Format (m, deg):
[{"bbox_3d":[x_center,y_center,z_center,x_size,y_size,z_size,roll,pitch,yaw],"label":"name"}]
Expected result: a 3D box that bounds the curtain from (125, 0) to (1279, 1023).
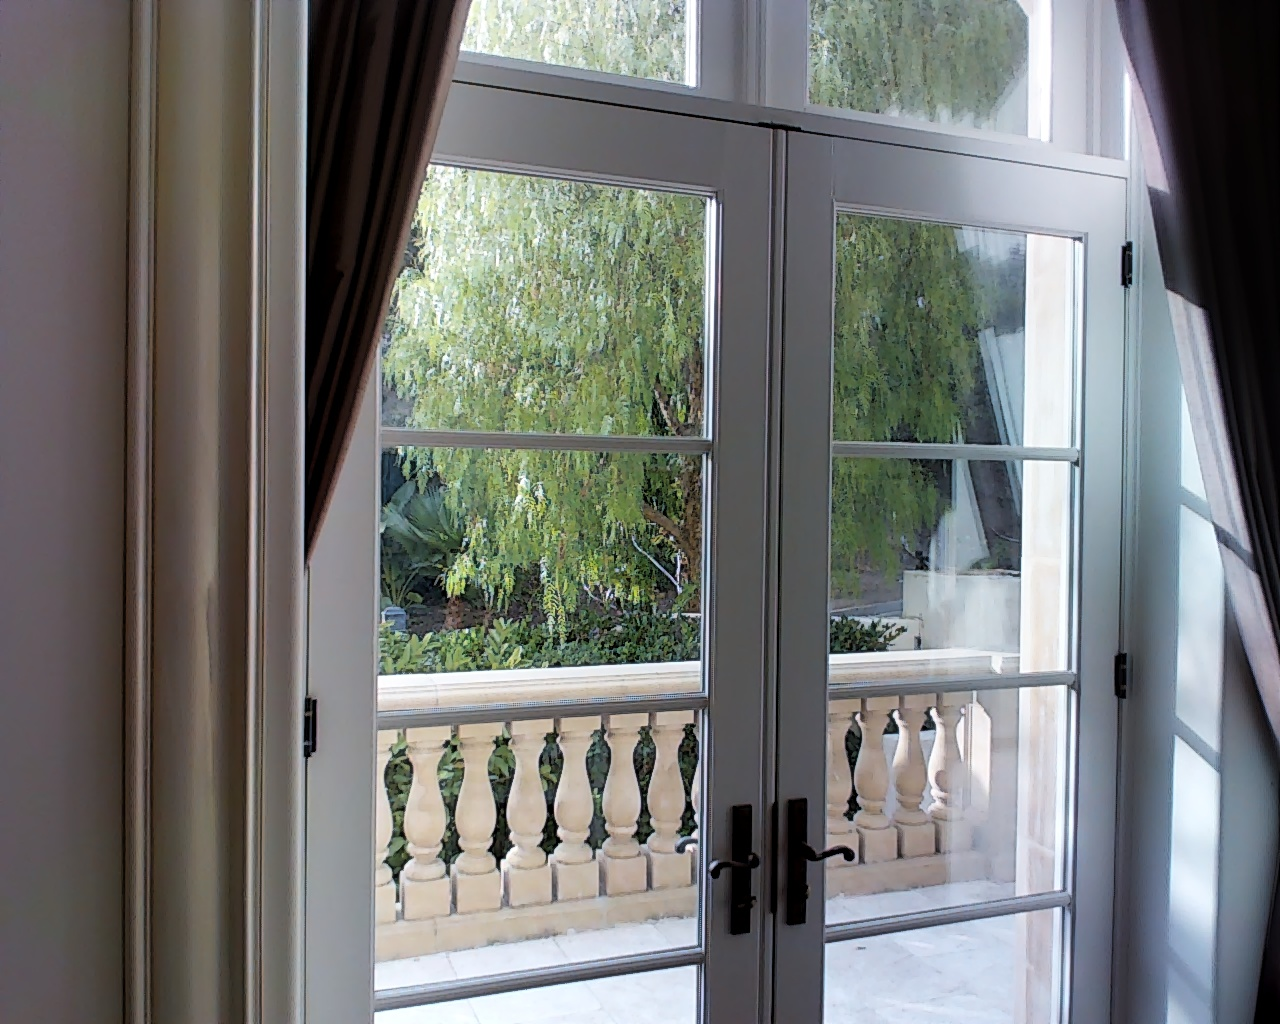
[{"bbox_3d":[0.340,0.010,1.970,2.279,3.231,0.450,0,1,-20],"label":"curtain"}]
